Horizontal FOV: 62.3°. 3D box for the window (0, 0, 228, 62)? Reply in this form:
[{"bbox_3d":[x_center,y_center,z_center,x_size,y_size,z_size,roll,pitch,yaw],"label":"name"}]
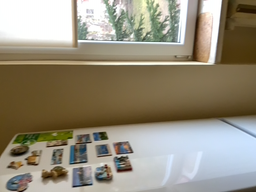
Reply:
[{"bbox_3d":[-0.160,-0.640,1.140,0.110,1.570,0.900,-135,44,-69],"label":"window"}]
